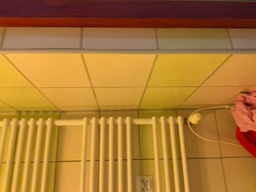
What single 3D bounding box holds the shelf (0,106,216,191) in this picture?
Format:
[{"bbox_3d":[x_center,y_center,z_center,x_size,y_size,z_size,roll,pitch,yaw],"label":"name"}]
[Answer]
[{"bbox_3d":[-0.230,0.410,0.950,0.150,1.200,0.710,98,171,-71],"label":"shelf"}]
